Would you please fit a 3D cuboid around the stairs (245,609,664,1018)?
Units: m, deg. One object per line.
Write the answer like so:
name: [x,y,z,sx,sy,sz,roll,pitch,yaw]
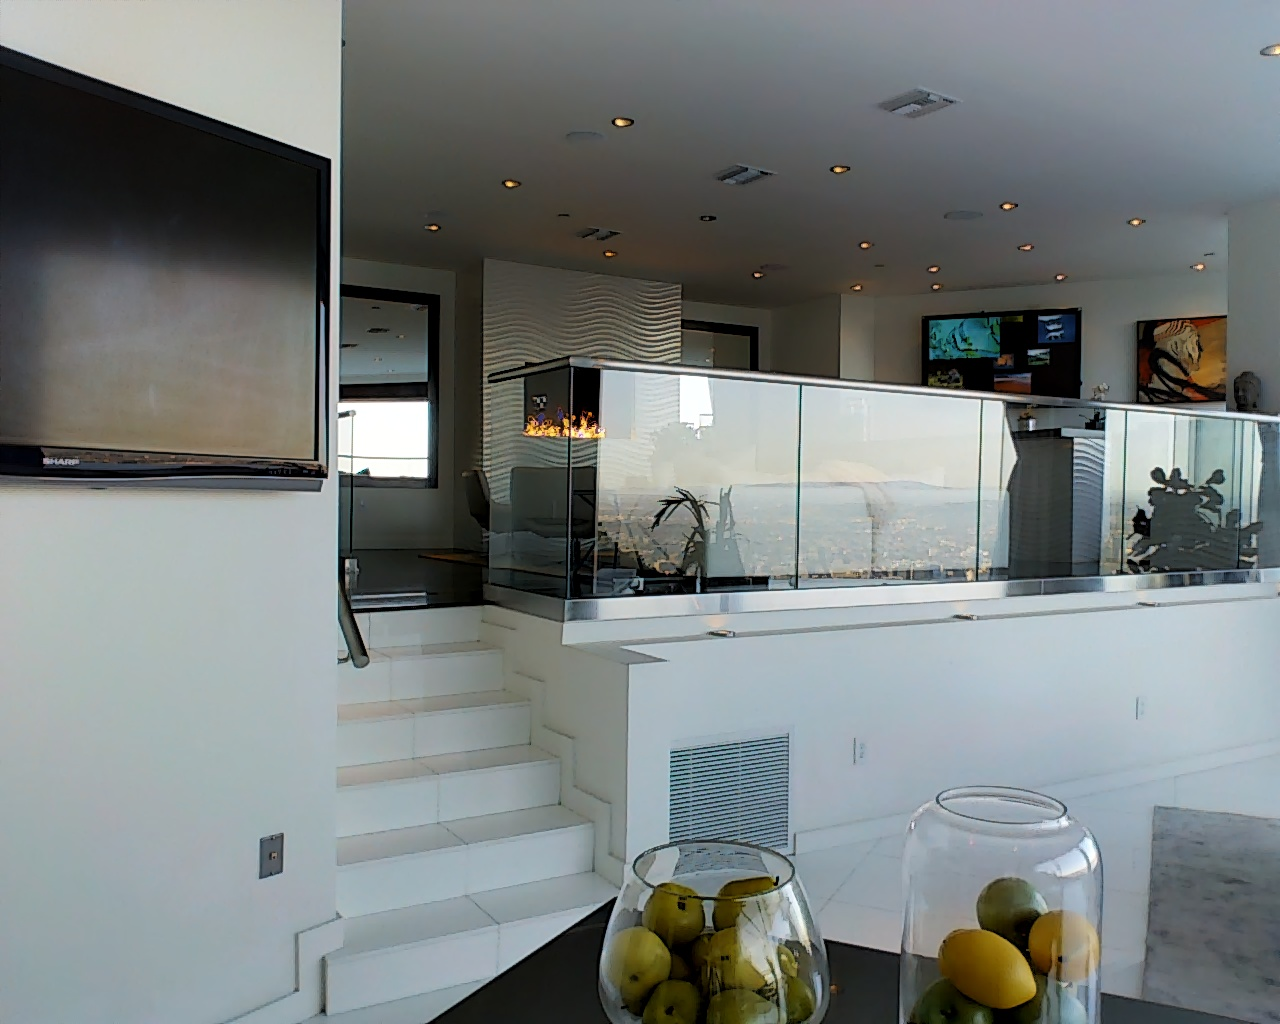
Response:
stairs: [-0.750,0.960,4.010,1.120,1.030,1.350,0,0,-31]
